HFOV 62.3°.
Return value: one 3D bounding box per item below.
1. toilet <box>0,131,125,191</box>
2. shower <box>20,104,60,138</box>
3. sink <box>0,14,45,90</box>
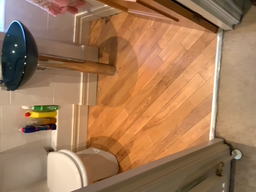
[{"bbox_3d":[-0.590,0.620,1.700,0.680,0.880,0.400,10,98,43],"label":"toilet"},{"bbox_3d":[-0.770,0.210,1.860,0.140,0.280,0.250,8,96,43],"label":"shower"},{"bbox_3d":[-0.720,-0.270,1.430,0.290,0.180,0.450,4,93,43],"label":"sink"}]
